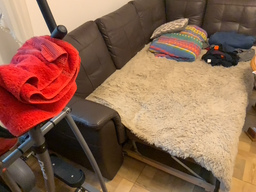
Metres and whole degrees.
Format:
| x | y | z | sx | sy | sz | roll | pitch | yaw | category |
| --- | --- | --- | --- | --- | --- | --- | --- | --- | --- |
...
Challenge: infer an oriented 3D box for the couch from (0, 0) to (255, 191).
| x | y | z | sx | sy | sz | roll | pitch | yaw | category |
| --- | --- | --- | --- | --- | --- | --- | --- | --- | --- |
| 0.440 | -0.380 | 2.210 | 1.650 | 0.930 | 2.550 | 16 | 41 | 25 | couch |

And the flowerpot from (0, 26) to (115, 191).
| x | y | z | sx | sy | sz | roll | pitch | yaw | category |
| --- | --- | --- | --- | --- | --- | --- | --- | --- | --- |
| -0.630 | 0.350 | 1.010 | 1.010 | 1.250 | 0.350 | 3 | 37 | 9 | flowerpot |
